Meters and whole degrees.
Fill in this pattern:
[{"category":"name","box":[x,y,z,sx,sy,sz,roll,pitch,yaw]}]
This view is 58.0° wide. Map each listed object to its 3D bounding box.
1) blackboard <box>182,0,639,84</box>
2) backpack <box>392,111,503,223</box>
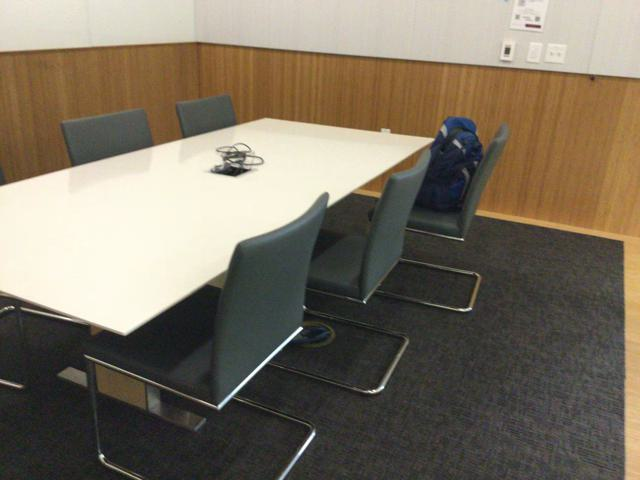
[{"category":"blackboard","box":[0.570,-1.490,3.980,3.610,0.660,0.170,10,21,24]},{"category":"backpack","box":[0.620,-0.370,2.810,0.420,0.450,0.340,10,21,23]}]
